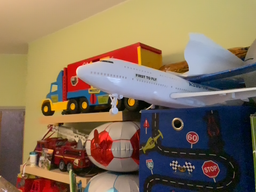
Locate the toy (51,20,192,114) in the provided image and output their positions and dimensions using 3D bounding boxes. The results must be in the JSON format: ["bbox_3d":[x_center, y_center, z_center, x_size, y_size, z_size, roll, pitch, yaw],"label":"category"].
[{"bbox_3d":[-0.080,-0.080,1.070,0.720,0.310,0.240,-6,-9,40],"label":"toy"}]

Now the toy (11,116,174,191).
[{"bbox_3d":[-0.250,0.260,1.120,0.900,0.280,0.340,-6,-9,40],"label":"toy"}]
